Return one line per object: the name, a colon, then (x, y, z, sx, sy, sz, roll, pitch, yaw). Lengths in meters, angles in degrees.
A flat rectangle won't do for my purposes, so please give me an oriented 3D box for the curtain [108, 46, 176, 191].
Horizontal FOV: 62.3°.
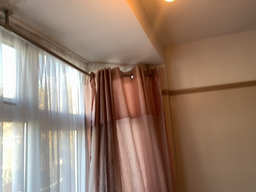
curtain: (0.150, 0.660, 1.730, 0.370, 2.030, 0.410, -8, -11, 23)
